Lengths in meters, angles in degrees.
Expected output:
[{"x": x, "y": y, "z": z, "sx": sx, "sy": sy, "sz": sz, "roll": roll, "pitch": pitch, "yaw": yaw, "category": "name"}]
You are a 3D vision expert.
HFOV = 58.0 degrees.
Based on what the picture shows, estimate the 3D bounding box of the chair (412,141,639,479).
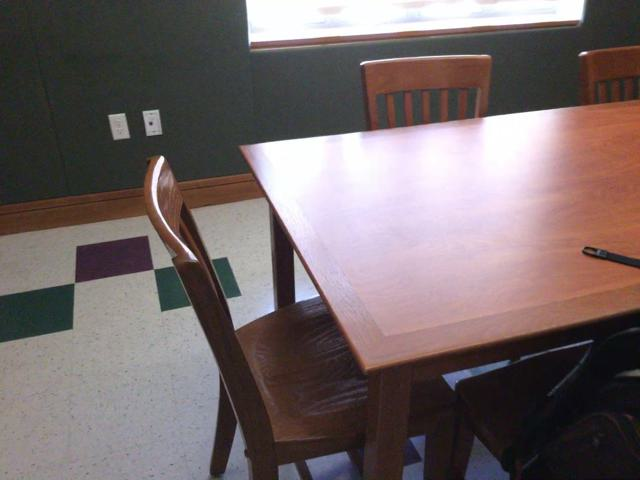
[{"x": 0.560, "y": 0.370, "z": 1.060, "sx": 0.480, "sy": 0.890, "sz": 0.640, "roll": -10, "pitch": 31, "yaw": -17, "category": "chair"}]
